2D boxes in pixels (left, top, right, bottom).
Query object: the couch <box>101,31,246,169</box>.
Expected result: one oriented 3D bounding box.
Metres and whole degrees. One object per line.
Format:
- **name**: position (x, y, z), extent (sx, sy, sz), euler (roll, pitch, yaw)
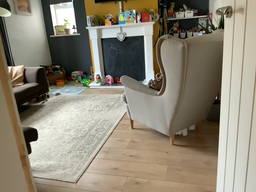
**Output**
- **couch**: position (0.390, -0.100, 2.100), extent (0.820, 0.960, 1.030), euler (-15, 20, -33)
